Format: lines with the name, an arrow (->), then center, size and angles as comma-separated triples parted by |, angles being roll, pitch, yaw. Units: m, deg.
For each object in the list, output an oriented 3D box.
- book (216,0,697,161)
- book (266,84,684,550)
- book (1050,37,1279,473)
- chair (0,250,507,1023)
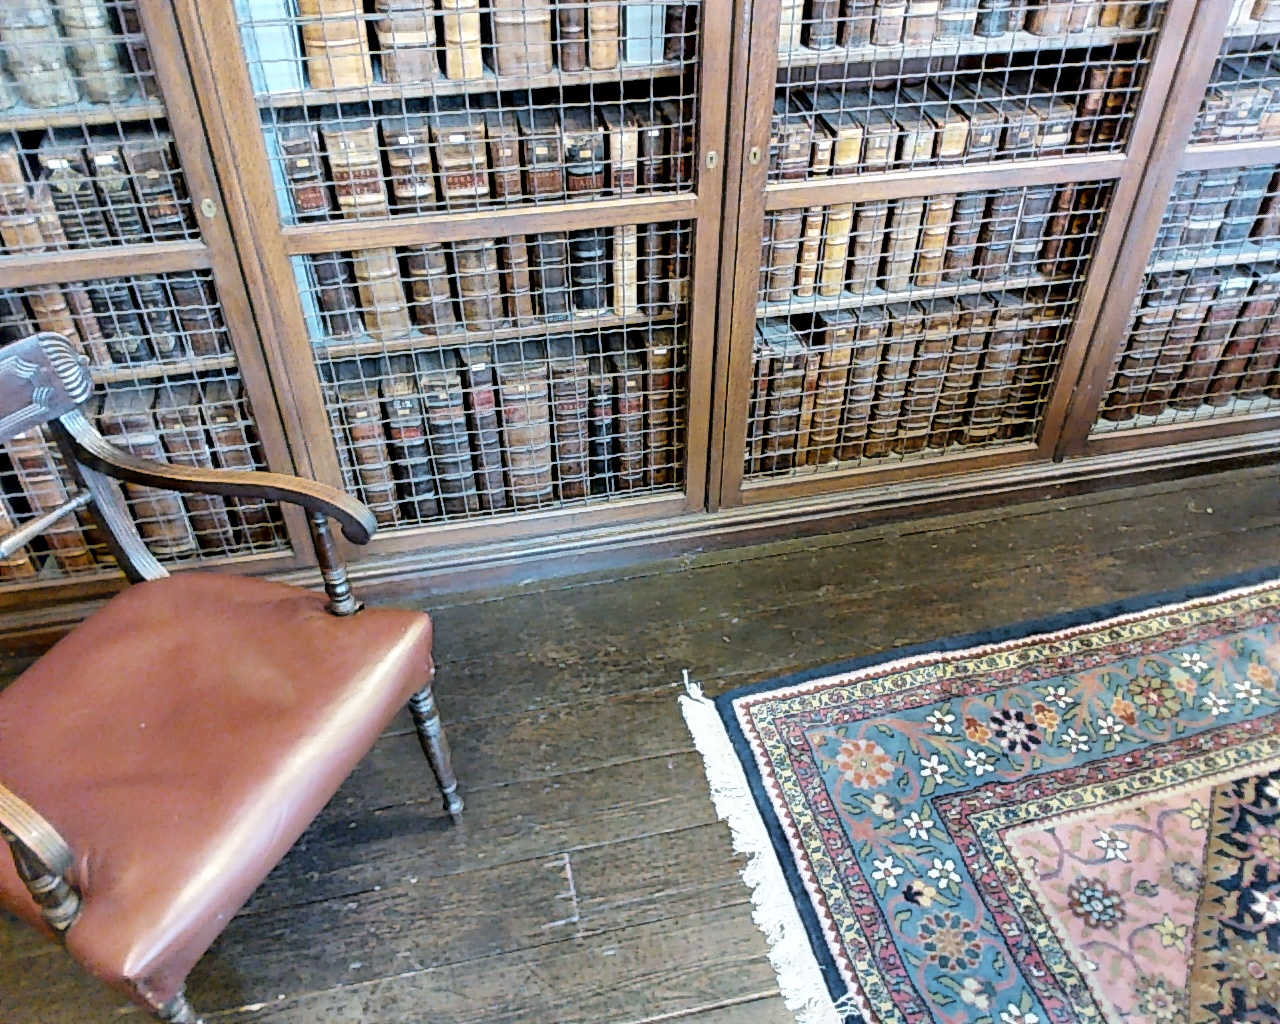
book -> -0.260, -0.790, 1.560 | 0.680, 0.490, 0.110 | -6, 41, -7
book -> -0.270, -0.340, 2.020 | 0.660, 0.790, 0.180 | -11, 42, -12
book -> 1.310, -0.520, 2.220 | 0.690, 0.840, 0.190 | -9, 42, -11
chair -> -0.650, 0.250, 1.450 | 0.640, 0.890, 0.620 | 17, 44, 19
